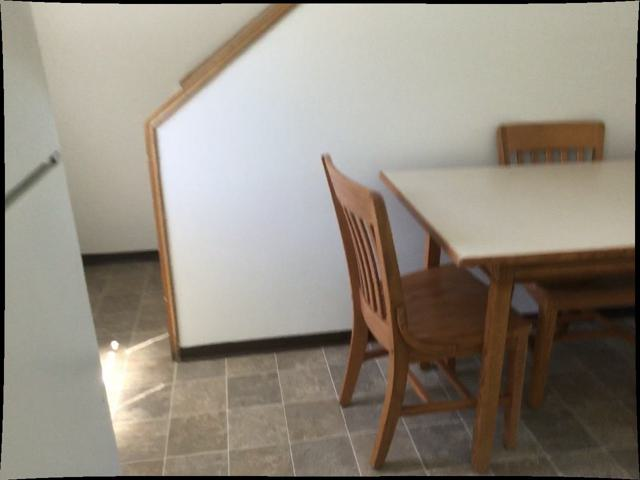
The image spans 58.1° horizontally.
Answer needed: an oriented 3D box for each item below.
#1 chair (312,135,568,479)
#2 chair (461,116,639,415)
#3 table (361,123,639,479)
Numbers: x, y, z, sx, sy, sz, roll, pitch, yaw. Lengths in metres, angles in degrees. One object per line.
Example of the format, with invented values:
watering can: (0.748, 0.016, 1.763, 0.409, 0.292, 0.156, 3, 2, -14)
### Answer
chair: (0.309, 0.180, 1.870, 0.559, 0.891, 0.600, -5, 23, -9)
chair: (0.889, 0.070, 2.130, 0.479, 0.931, 0.520, -5, 23, -9)
table: (0.928, 0.140, 1.980, 1.388, 0.871, 0.860, -5, 23, -9)
